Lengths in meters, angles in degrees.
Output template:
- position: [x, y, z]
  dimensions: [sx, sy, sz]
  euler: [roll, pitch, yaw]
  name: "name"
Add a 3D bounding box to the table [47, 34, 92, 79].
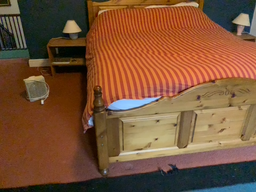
- position: [-0.780, -0.560, 2.950]
  dimensions: [0.490, 0.500, 0.420]
  euler: [-4, 29, -7]
  name: "table"
